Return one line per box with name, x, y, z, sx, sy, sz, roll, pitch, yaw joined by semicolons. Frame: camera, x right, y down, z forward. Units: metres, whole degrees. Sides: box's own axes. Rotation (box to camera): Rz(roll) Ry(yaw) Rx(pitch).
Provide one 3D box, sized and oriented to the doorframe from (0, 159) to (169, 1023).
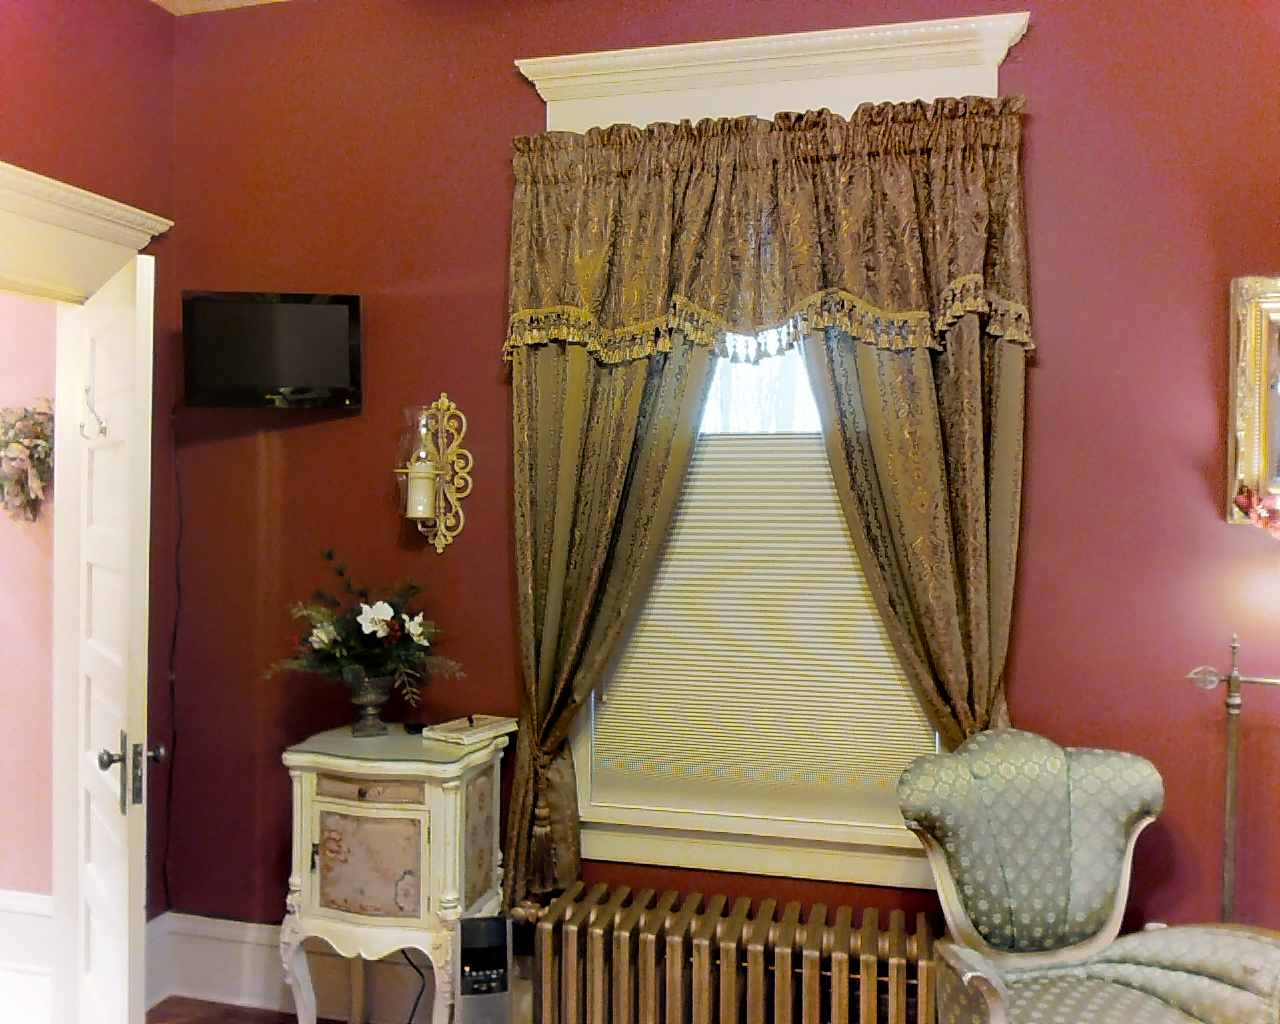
doorframe;-1.599;0.330;2.600;0.130;2.341;1.120;1;-1;15
